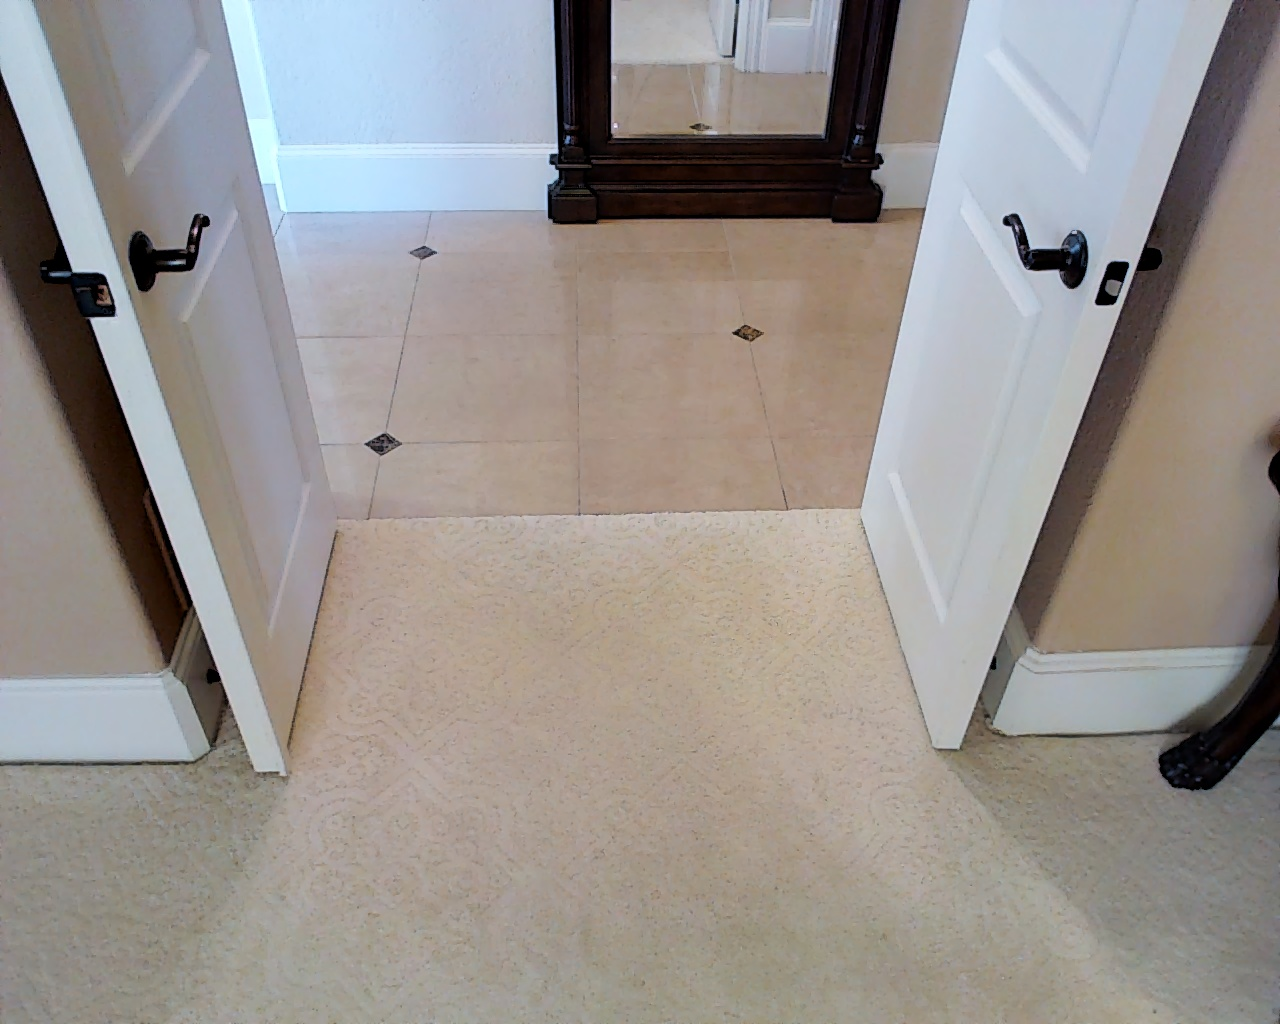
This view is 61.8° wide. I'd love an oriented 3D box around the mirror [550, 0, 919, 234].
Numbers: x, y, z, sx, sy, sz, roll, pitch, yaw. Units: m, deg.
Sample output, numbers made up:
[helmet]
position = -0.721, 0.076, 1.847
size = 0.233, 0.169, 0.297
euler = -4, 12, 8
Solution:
[mirror]
position = 0.260, -1.690, 2.690
size = 1.000, 2.080, 0.130
euler = -2, 42, -3
